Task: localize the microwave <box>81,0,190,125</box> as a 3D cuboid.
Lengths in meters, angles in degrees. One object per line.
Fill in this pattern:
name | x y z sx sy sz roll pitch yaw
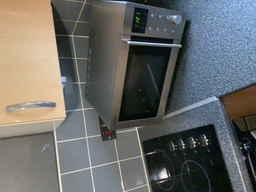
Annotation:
microwave | -0.010 -0.170 0.960 0.380 0.280 0.430 42 130 53
